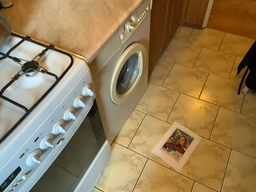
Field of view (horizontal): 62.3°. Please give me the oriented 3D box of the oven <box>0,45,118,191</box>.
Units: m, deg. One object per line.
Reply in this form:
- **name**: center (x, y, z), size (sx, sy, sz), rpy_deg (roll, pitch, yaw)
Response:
- **oven**: center (-0.480, 0.270, 1.050), size (0.600, 0.690, 0.580), rpy_deg (21, 57, 18)
